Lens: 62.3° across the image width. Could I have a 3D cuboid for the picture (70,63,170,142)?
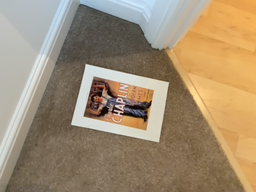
[{"bbox_3d":[-0.020,0.020,0.710,0.300,0.001,0.210,11,80,-3],"label":"picture"}]
